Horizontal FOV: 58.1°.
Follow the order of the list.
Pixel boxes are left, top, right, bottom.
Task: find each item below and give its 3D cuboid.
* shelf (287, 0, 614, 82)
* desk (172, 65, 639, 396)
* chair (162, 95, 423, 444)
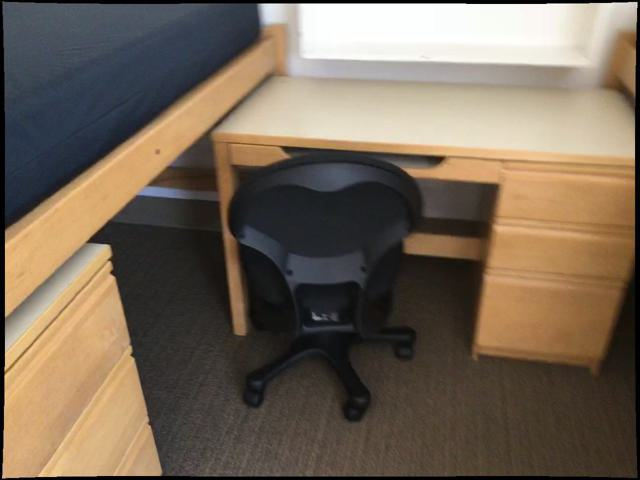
[{"bbox_3d":[0.409,-0.983,1.850,1.027,0.842,0.230,6,32,12],"label":"shelf"},{"bbox_3d":[0.309,-0.100,2.070,1.337,0.802,0.740,6,32,12],"label":"desk"},{"bbox_3d":[-0.030,0.080,1.700,0.569,0.862,0.460,6,32,12],"label":"chair"}]
